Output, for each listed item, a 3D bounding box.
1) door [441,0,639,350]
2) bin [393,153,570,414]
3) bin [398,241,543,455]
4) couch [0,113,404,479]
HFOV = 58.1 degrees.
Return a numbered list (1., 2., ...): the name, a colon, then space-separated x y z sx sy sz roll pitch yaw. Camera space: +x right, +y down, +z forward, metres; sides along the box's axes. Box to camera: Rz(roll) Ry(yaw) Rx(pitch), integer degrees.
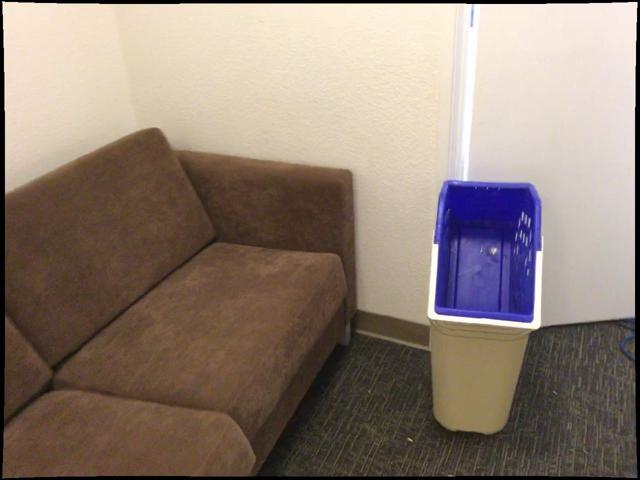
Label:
1. door: 0.888 -0.301 1.760 1.007 1.383 0.120 -7 30 -1
2. bin: 0.449 0.080 1.560 0.329 0.431 0.540 9 33 24
3. bin: 0.439 0.301 1.680 0.319 0.451 0.330 9 33 24
4. couch: -0.529 0.331 1.370 0.938 0.681 1.750 9 33 24
